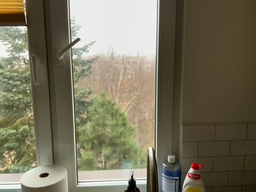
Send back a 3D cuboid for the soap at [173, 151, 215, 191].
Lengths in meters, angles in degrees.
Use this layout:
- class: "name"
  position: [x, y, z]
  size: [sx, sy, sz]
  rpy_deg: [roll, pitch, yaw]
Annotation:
- class: "soap"
  position: [0.280, 0.390, 0.930]
  size: [0.130, 0.250, 0.140]
  rpy_deg: [0, 9, -2]
